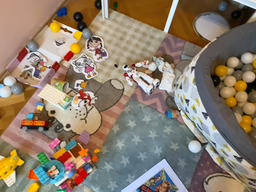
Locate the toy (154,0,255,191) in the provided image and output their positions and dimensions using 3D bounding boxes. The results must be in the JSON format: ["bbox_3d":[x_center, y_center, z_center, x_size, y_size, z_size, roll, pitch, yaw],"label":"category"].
[{"bbox_3d":[0.730,0.020,1.150,0.840,0.400,0.850,26,67,6],"label":"toy"}]
